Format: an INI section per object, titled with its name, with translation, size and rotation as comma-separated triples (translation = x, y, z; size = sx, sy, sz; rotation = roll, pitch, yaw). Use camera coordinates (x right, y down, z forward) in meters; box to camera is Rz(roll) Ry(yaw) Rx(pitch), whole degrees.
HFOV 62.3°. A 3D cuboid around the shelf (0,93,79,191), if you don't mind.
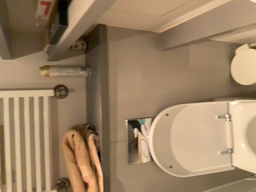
[shelf]
translation = -0.680, 0.250, 0.870
size = 0.090, 0.930, 0.500
rotation = 6, 98, 63
